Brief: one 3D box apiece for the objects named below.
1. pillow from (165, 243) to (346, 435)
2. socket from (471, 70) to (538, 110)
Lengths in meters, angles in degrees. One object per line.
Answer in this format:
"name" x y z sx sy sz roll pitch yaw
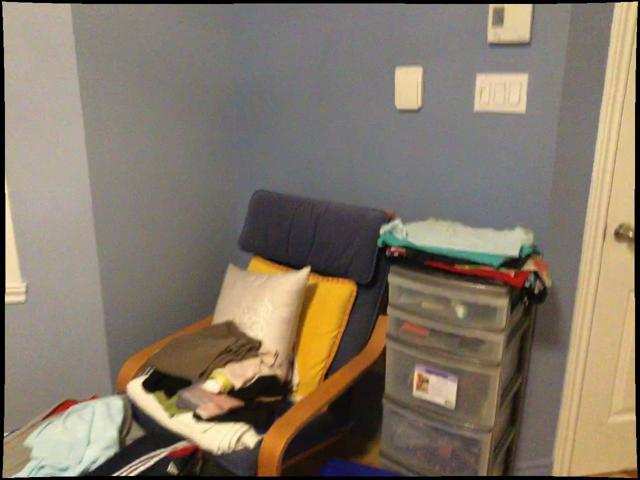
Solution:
"pillow" -0.200 0.290 1.880 0.470 0.420 0.320 11 21 32
"socket" 0.549 -0.450 1.730 0.180 0.110 0.040 11 21 32
